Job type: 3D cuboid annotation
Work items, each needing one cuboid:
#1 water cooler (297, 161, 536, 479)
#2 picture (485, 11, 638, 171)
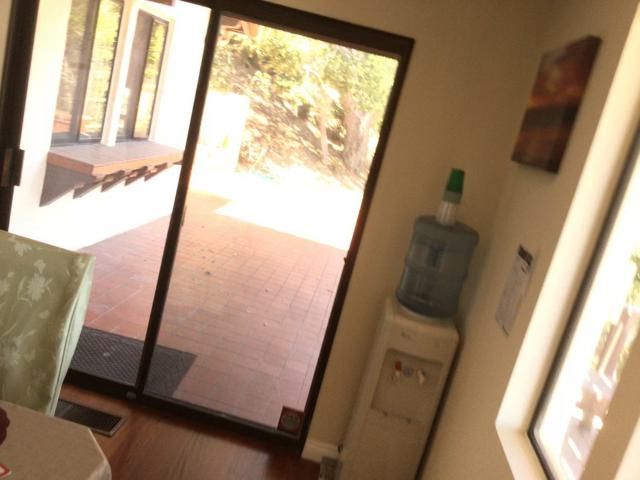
[{"bbox_3d":[0.370,0.440,2.560,0.460,1.490,0.520,20,8,0],"label":"water cooler"},{"bbox_3d":[0.810,-0.480,2.060,0.130,0.440,0.730,17,8,1],"label":"picture"}]
